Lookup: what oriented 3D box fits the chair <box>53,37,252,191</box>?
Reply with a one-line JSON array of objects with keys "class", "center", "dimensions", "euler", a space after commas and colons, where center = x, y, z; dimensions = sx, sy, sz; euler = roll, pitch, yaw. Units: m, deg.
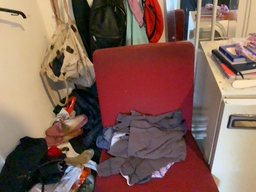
[{"class": "chair", "center": [0.100, 0.290, 1.000], "dimensions": [0.480, 0.930, 0.550], "euler": [-4, 34, 4]}]
